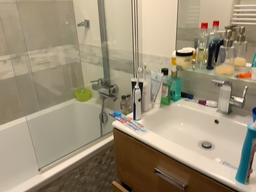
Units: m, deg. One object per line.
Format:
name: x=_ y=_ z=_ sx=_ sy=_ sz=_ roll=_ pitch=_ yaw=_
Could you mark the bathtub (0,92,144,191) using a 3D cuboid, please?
bathtub: x=-0.600 y=0.540 z=1.290 sx=0.680 sy=0.600 sz=1.360 roll=19 pitch=31 yaw=40
